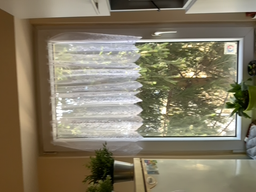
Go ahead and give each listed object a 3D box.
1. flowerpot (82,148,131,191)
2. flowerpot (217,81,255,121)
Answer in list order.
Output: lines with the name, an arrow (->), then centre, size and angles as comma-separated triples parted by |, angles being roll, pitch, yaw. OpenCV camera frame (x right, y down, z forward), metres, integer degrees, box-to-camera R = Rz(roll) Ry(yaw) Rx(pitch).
flowerpot -> -0.100, 0.390, 1.070 | 0.130, 0.230, 0.210 | -90, 0, -83
flowerpot -> 0.710, 0.020, 1.310 | 0.230, 0.220, 0.220 | -90, 0, -84
